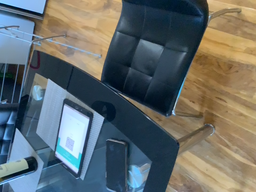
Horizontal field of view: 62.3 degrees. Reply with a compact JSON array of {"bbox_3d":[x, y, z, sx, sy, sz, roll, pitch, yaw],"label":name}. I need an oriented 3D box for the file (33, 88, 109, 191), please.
[{"bbox_3d":[-0.240,0.160,0.810,0.340,0.030,0.260,32,112,31],"label":"file"}]

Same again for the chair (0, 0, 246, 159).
[{"bbox_3d":[0.070,-0.260,0.870,0.430,0.950,0.620,25,108,33],"label":"chair"}]

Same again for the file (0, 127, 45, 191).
[{"bbox_3d":[-0.510,0.360,1.000,0.280,0.020,0.320,35,113,30],"label":"file"}]
